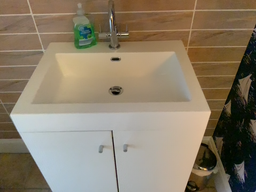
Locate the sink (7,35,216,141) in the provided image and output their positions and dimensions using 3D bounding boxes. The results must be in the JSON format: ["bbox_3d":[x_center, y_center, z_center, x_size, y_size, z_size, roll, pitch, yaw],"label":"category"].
[{"bbox_3d":[-0.050,-0.060,0.830,0.610,0.140,0.450,-2,42,0],"label":"sink"}]
